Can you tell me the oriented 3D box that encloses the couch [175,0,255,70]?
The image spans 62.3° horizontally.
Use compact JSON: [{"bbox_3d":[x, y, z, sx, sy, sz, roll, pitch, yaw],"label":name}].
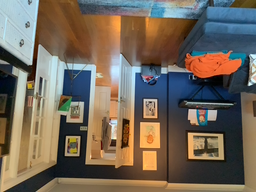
[{"bbox_3d":[0.950,-0.690,2.500,0.530,0.470,1.080,2,172,-1],"label":"couch"}]
